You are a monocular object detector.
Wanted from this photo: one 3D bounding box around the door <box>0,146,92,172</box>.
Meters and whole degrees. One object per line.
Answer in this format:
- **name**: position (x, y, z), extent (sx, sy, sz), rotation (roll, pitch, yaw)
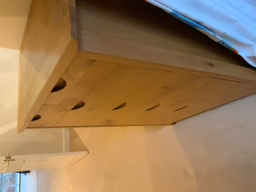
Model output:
- **door**: position (-1.600, 0.860, 2.740), extent (0.970, 2.020, 0.090), rotation (-38, 55, 48)
